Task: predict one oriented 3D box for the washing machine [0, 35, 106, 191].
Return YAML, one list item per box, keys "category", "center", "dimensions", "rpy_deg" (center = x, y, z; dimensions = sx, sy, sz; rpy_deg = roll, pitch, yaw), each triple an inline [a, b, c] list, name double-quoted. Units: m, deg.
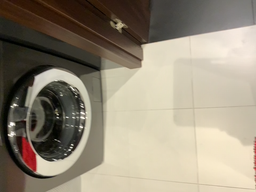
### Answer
- category: "washing machine"
  center: [-0.550, 0.120, 1.100]
  dimensions: [0.520, 0.820, 0.610]
  rpy_deg: [-3, 86, 24]
